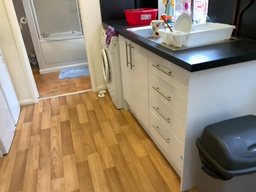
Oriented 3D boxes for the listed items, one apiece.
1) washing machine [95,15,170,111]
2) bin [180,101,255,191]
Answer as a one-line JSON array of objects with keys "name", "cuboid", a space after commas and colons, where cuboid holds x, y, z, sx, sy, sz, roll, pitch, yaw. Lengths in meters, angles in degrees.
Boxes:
[{"name": "washing machine", "cuboid": [0.040, -0.450, 2.650, 0.660, 0.950, 0.690, -12, 28, -17]}, {"name": "bin", "cuboid": [0.670, 0.400, 1.230, 0.580, 0.580, 0.350, -12, 28, -17]}]
